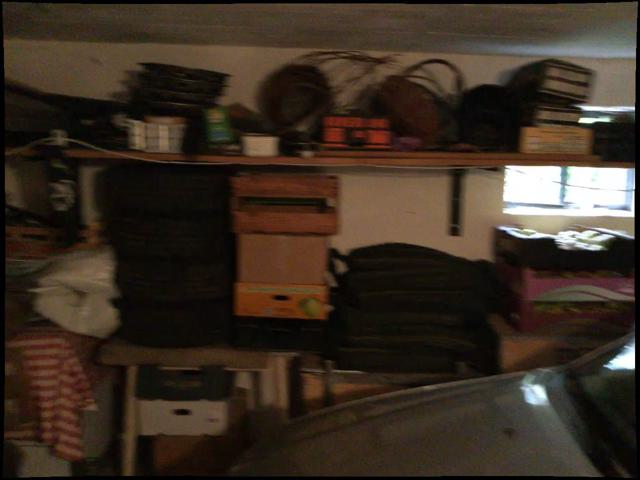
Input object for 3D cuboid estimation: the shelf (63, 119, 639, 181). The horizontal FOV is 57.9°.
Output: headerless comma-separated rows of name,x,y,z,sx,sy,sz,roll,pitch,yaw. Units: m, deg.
shelf,0.290,-0.390,2.500,2.637,0.170,0.370,2,11,0
